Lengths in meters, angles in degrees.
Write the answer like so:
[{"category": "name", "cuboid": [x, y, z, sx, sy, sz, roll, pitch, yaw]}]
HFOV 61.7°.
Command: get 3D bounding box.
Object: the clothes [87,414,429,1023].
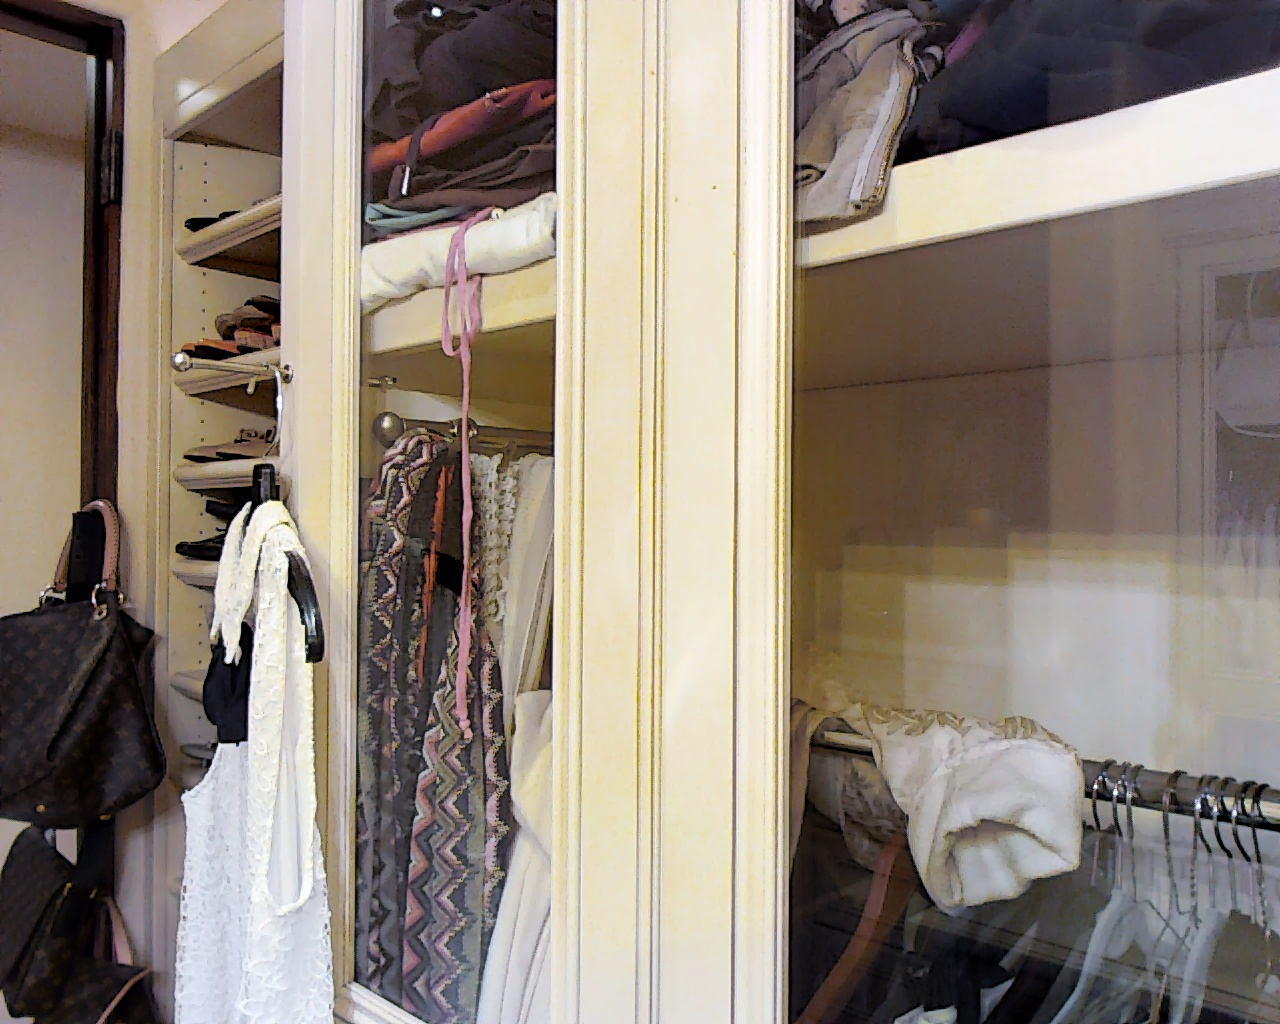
[{"category": "clothes", "cuboid": [-0.330, 0.450, 0.920, 0.210, 1.020, 0.450, 1, 0, -21]}]
